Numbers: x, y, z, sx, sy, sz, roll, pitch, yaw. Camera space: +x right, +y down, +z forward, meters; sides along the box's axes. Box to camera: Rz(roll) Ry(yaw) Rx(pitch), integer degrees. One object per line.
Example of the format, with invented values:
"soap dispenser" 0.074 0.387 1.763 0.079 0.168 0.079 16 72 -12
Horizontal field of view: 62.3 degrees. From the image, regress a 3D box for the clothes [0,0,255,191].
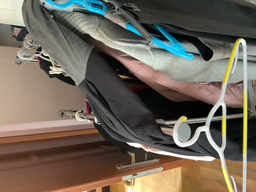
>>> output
"clothes" 0.220 -0.030 1.210 1.180 1.740 0.550 -3 88 58
